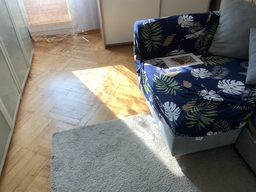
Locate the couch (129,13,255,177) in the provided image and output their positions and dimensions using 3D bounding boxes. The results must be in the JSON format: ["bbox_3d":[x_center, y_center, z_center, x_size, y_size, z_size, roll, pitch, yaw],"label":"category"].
[{"bbox_3d":[0.380,-0.080,1.720,0.500,0.790,1.040,-9,40,-9],"label":"couch"}]
